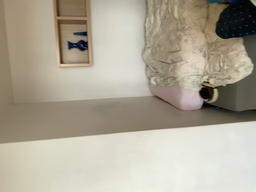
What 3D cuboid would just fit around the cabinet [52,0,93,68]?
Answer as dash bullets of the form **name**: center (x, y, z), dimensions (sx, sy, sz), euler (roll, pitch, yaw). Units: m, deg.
- **cabinet**: center (-0.730, -0.990, 2.780), dimensions (0.150, 0.450, 1.210), euler (-171, 78, -78)
